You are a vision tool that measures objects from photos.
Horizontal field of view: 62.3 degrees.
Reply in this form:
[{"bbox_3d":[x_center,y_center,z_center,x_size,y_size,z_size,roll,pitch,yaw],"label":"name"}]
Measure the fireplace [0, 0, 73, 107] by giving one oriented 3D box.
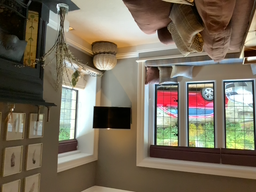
[{"bbox_3d":[-1.350,-0.610,2.250,0.750,1.380,1.390,-1,174,20],"label":"fireplace"}]
